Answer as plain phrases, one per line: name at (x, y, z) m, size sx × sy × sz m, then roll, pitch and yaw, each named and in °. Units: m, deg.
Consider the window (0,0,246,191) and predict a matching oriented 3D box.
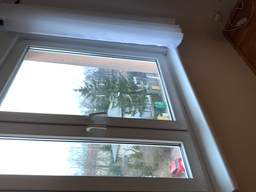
window at (-0.290, -0.230, 1.730) m, size 2.100 × 1.670 × 0.110 m, roll -95°, pitch 13°, yaw -46°
